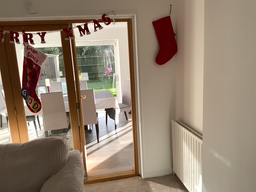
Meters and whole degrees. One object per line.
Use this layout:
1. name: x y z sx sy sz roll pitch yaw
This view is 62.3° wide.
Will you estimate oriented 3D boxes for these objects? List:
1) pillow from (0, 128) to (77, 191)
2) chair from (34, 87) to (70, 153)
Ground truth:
1. pillow: -1.010 0.660 1.960 0.920 0.510 0.220 25 9 -18
2. chair: -1.360 0.420 3.900 0.470 1.070 0.460 -5 12 -13
